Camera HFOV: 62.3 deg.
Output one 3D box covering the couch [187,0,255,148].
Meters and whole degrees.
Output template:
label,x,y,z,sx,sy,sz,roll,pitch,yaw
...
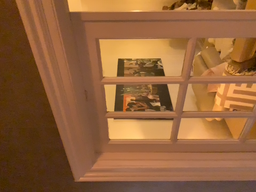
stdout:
label,x,y,z,sx,sy,sz,roll,pitch,yaw
couch,1.350,-0.770,2.090,1.080,0.850,2.690,-89,-1,-51
